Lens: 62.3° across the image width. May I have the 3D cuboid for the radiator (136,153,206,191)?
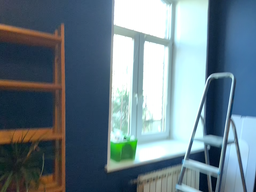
[{"bbox_3d":[0.510,1.110,2.340,1.030,0.770,0.150,2,0,-41],"label":"radiator"}]
